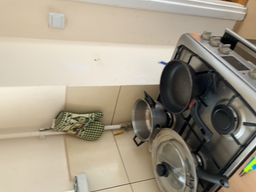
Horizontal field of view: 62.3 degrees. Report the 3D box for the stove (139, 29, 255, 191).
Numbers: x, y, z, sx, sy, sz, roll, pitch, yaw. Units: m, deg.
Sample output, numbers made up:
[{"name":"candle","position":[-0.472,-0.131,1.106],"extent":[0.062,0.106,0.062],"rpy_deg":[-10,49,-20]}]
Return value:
[{"name":"stove","position":[0.300,0.130,0.900],"extent":[0.510,0.180,0.630],"rpy_deg":[-117,33,-45]}]
